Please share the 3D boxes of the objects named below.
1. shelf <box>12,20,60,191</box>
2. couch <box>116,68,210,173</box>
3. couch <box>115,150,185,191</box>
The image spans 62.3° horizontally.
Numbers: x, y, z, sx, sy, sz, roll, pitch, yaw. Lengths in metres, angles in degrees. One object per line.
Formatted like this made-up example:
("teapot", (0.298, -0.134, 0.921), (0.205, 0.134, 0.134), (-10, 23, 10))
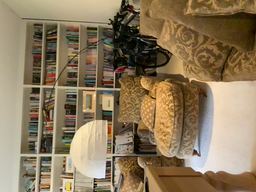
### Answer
("shelf", (-1.630, 0.860, 3.770), (0.370, 0.590, 4.300), (161, 111, -83))
("couch", (0.300, 0.170, 3.010), (1.710, 0.810, 0.960), (-118, 30, -76))
("couch", (0.250, 1.280, 3.150), (1.070, 0.810, 0.890), (119, 152, -75))
